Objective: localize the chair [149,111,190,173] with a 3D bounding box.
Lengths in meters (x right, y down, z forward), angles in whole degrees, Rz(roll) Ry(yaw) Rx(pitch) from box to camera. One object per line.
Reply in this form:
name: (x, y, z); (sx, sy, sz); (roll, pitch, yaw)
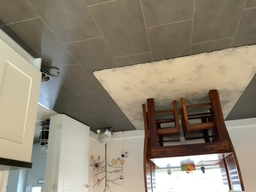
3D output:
chair: (0.670, 0.760, 3.440); (0.500, 0.880, 0.470); (-8, 157, 12)
